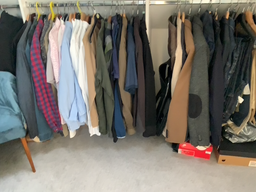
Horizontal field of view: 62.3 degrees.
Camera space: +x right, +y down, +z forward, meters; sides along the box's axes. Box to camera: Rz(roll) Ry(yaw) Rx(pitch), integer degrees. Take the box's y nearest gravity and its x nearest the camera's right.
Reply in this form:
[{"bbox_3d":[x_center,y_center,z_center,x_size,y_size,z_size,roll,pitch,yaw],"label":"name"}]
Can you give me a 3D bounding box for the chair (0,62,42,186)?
[{"bbox_3d":[-1.010,0.210,1.460,0.550,0.660,0.530,-18,33,-28],"label":"chair"}]
